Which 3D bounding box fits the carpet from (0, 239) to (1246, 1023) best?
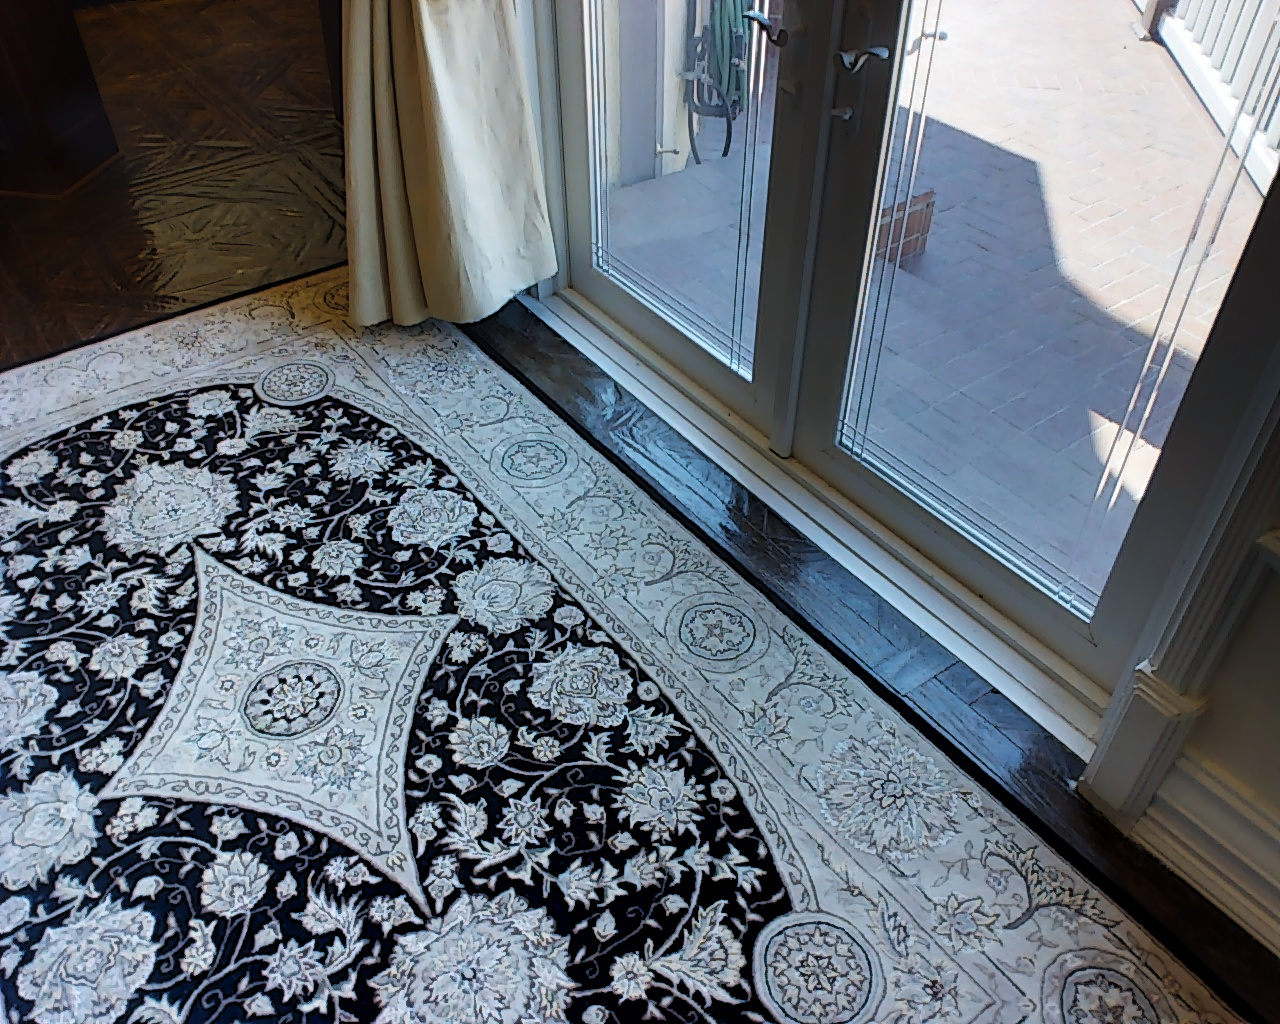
[{"bbox_3d":[-0.640,0.320,1.790,1.650,0.030,2.770,-26,48,-26],"label":"carpet"}]
